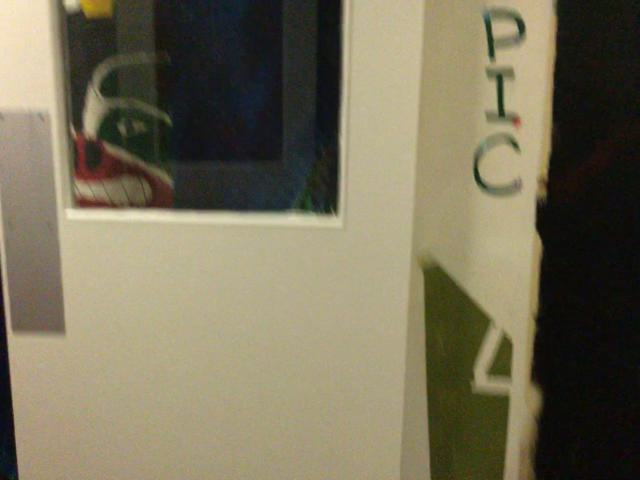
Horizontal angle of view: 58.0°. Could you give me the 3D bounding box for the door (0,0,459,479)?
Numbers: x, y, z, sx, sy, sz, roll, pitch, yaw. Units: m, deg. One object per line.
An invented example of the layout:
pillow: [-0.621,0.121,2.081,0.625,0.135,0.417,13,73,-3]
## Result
door: [-0.230,0.110,1.090,0.850,2.140,0.270,6,13,11]
